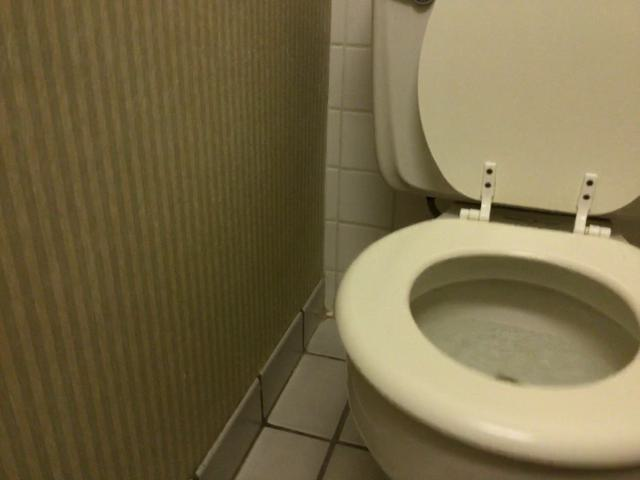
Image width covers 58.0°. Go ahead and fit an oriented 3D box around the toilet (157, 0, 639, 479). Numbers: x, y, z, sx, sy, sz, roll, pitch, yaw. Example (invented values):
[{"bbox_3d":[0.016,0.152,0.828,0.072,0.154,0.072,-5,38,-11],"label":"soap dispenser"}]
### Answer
[{"bbox_3d":[0.260,0.010,0.680,0.530,0.740,0.680,6,25,15],"label":"toilet"}]
